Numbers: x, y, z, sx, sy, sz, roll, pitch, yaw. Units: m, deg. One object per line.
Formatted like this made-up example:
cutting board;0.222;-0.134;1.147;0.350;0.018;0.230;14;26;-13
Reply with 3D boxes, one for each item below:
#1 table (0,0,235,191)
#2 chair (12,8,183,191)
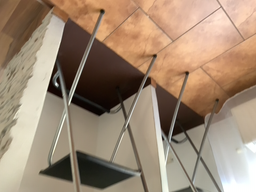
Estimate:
table;-0.070;0.420;1.350;1.530;1.040;0.770;31;131;-34
chair;-0.160;0.180;1.060;0.440;1.030;0.600;29;132;-33
